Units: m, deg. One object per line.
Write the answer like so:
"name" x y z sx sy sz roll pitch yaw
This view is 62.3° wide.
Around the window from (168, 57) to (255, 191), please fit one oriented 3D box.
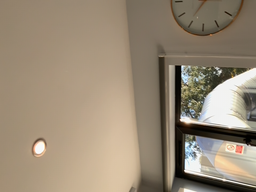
"window" 1.130 0.380 2.010 0.080 1.480 1.440 -44 -45 -56
